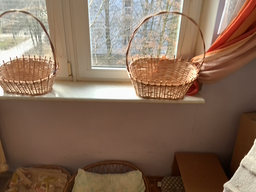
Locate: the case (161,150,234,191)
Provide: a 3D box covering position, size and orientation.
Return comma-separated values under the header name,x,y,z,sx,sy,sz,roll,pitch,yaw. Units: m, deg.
name,x,y,z,sx,sy,sz,roll,pitch,yaw
case,0.480,0.660,1.590,0.390,0.330,0.350,2,27,-1
